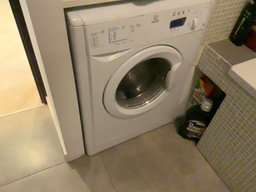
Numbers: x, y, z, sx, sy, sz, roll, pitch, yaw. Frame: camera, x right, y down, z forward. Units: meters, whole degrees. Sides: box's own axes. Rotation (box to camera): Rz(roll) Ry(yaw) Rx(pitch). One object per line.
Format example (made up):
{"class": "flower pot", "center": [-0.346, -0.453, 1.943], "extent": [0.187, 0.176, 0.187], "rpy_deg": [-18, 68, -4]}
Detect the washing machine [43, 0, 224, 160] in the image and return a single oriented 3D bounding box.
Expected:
{"class": "washing machine", "center": [-0.040, -0.180, 1.130], "extent": [0.580, 0.830, 0.500], "rpy_deg": [-19, 52, -22]}
